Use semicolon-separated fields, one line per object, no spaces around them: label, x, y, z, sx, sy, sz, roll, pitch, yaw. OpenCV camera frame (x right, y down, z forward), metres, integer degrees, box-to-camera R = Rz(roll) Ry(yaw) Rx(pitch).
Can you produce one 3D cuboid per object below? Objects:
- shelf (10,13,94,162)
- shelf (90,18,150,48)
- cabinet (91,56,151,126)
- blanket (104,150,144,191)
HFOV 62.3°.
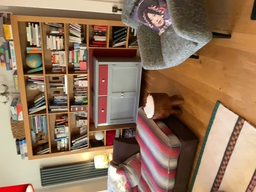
shelf;-1.160;-0.070;3.490;0.330;1.100;2.340;-134;44;-62
shelf;-0.140;-1.040;3.520;0.280;0.940;0.410;-134;44;-62
cabinet;-0.160;-0.110;3.770;0.460;0.900;1.120;-134;44;-62
blanket;-0.090;1.370;3.370;0.590;0.420;0.730;-127;38;-59
